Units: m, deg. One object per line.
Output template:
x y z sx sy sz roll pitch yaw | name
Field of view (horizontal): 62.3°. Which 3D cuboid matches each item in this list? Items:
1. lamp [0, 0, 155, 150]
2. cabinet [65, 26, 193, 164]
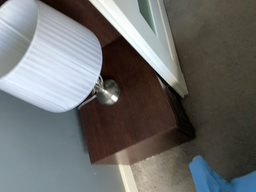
-0.250 -0.110 0.750 0.370 0.460 0.420 -48 58 7 | lamp
0.000 0.040 1.080 0.440 0.380 0.490 -23 64 21 | cabinet
